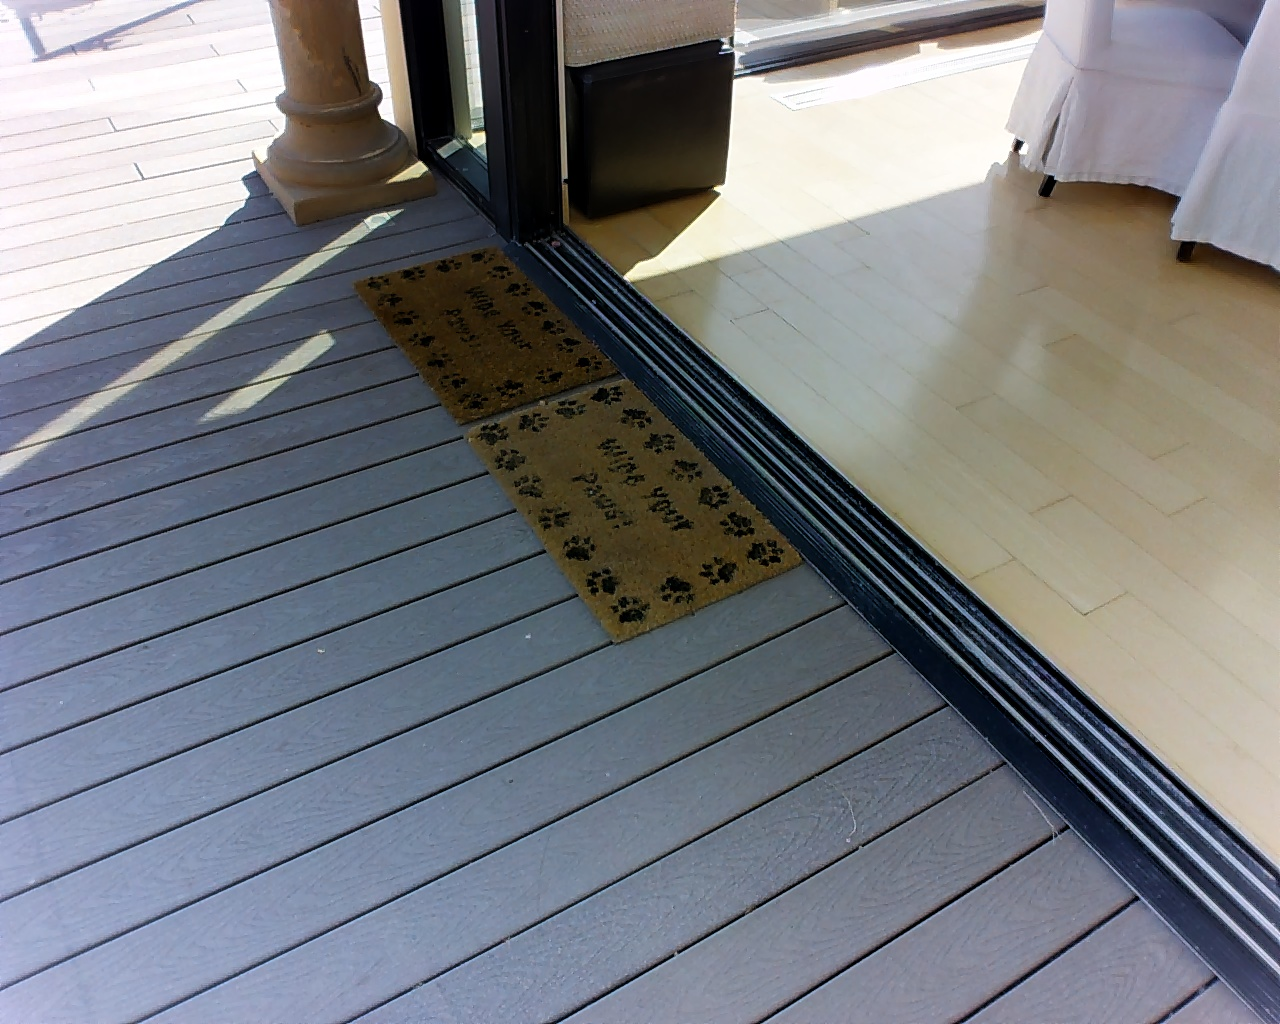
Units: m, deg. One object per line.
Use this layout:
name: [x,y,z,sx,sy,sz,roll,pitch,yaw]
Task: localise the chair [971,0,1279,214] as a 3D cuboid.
chair: [1.580,-1.510,3.190,0.870,1.050,0.530,3,42,2]
